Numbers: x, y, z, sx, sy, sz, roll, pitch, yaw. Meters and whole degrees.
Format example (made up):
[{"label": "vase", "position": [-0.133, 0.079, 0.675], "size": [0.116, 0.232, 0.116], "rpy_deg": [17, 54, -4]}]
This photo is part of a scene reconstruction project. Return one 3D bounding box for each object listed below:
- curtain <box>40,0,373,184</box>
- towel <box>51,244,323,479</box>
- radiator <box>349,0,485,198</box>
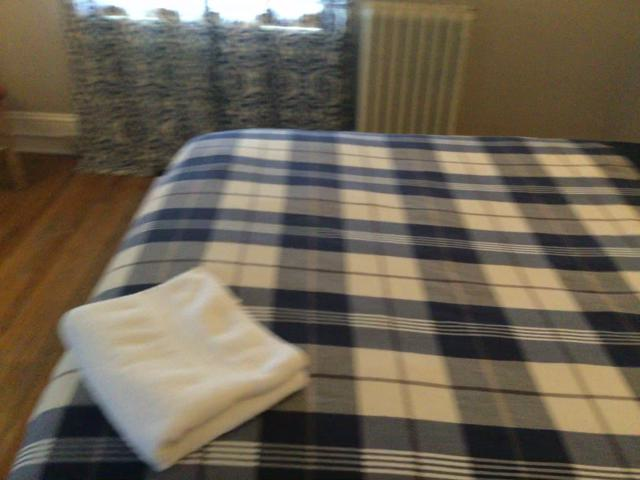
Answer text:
[{"label": "curtain", "position": [-0.520, -1.280, 2.690], "size": [1.540, 2.050, 0.220], "rpy_deg": [3, 31, 0]}, {"label": "towel", "position": [-0.240, 0.180, 1.030], "size": [0.300, 0.100, 0.390], "rpy_deg": [-24, 41, -37]}, {"label": "radiator", "position": [0.450, -0.710, 2.940], "size": [0.550, 0.940, 0.290], "rpy_deg": [3, 32, 1]}]
